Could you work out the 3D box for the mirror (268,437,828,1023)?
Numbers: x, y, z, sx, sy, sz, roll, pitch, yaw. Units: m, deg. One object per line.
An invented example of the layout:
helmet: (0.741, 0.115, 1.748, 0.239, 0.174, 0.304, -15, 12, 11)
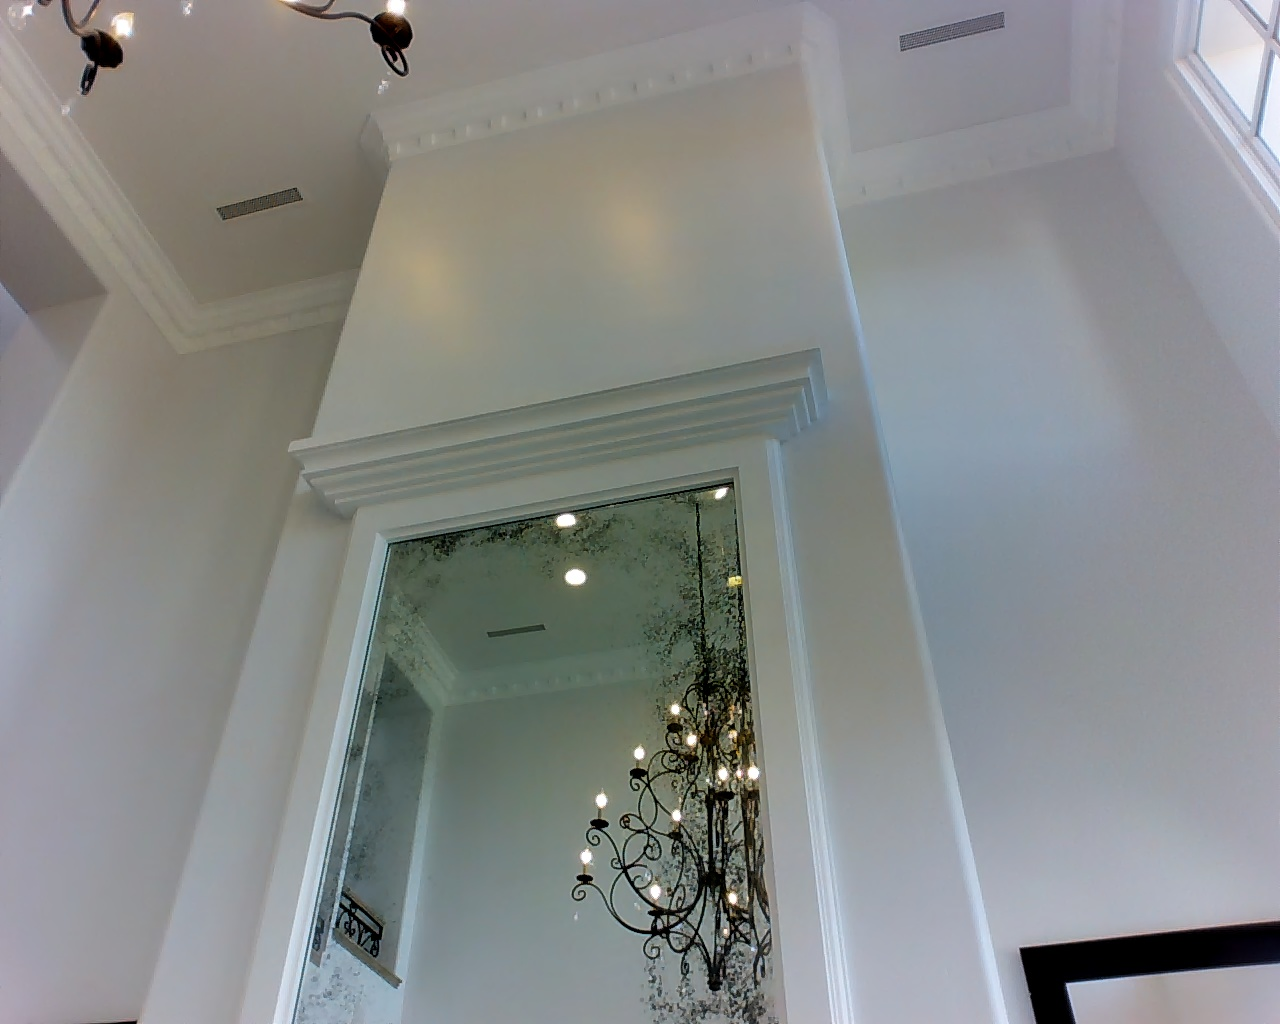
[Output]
mirror: (-0.250, 0.800, 2.810, 1.349, 2.411, 0.060, -11, -43, 12)
